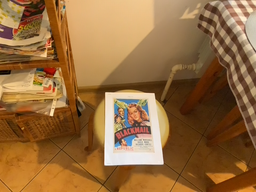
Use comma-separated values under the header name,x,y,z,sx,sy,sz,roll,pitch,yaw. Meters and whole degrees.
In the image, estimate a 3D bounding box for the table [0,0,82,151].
name,x,y,z,sx,sy,sz,roll,pitch,yaw
table,-0.490,-0.110,0.870,0.510,0.910,0.340,-5,59,-11
